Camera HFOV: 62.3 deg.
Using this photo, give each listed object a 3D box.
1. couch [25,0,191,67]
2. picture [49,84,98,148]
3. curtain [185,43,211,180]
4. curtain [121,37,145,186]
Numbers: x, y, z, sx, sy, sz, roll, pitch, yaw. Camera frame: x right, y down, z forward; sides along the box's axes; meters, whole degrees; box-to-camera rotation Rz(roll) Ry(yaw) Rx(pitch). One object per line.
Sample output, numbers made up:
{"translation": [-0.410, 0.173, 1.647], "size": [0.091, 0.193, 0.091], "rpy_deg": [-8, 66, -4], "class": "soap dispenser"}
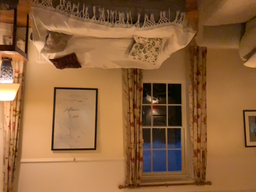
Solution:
{"translation": [-0.260, -0.880, 3.080], "size": [1.960, 0.670, 1.110], "rpy_deg": [0, 177, -8], "class": "couch"}
{"translation": [-0.920, 0.330, 3.630], "size": [0.810, 1.070, 0.040], "rpy_deg": [0, 177, -7], "class": "picture"}
{"translation": [1.270, 0.260, 3.870], "size": [0.360, 2.430, 0.170], "rpy_deg": [0, 177, -6], "class": "curtain"}
{"translation": [0.080, 0.250, 3.720], "size": [0.400, 2.530, 0.150], "rpy_deg": [0, 177, -7], "class": "curtain"}
